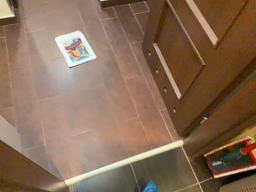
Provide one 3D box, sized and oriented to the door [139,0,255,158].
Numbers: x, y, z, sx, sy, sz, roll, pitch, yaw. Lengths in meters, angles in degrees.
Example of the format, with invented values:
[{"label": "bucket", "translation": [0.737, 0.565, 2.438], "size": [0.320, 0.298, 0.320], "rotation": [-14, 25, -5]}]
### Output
[{"label": "door", "translation": [0.350, -0.450, 0.580], "size": [0.040, 2.110, 0.820], "rotation": [-16, 65, -14]}]
